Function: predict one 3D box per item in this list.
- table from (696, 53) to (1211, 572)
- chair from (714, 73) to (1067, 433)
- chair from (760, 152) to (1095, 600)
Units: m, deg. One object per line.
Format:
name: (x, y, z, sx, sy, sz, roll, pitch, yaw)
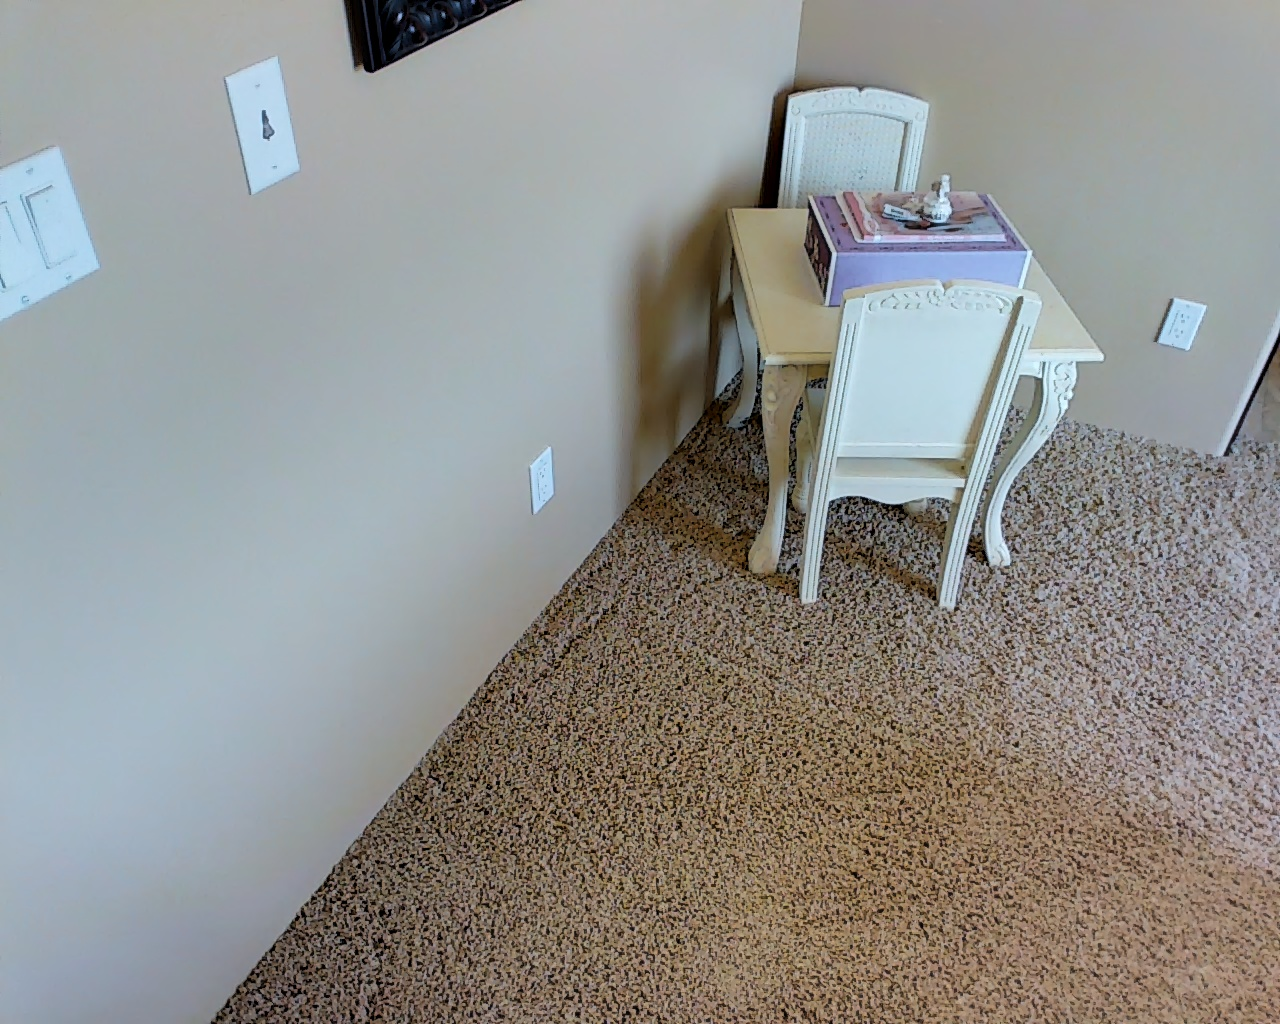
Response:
table: (0.530, -0.440, 2.260, 0.740, 0.750, 0.830, -1, 41, -1)
chair: (0.510, -0.580, 2.450, 0.630, 0.690, 0.410, 0, 41, 0)
chair: (0.490, -0.250, 2.060, 0.460, 0.710, 0.440, 3, 41, 4)
